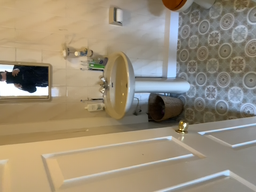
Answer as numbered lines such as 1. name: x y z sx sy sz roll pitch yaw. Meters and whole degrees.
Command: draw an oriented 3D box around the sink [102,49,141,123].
1. sink: -0.080 -0.100 1.950 0.460 0.140 0.600 9 99 60
